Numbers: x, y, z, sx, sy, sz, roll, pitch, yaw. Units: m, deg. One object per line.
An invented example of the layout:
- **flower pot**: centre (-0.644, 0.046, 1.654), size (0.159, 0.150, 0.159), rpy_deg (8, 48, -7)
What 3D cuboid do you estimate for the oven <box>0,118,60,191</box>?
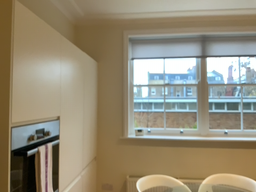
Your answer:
- **oven**: centre (-0.870, 0.470, 1.400), size (0.620, 0.610, 0.590), rpy_deg (0, -2, 5)
